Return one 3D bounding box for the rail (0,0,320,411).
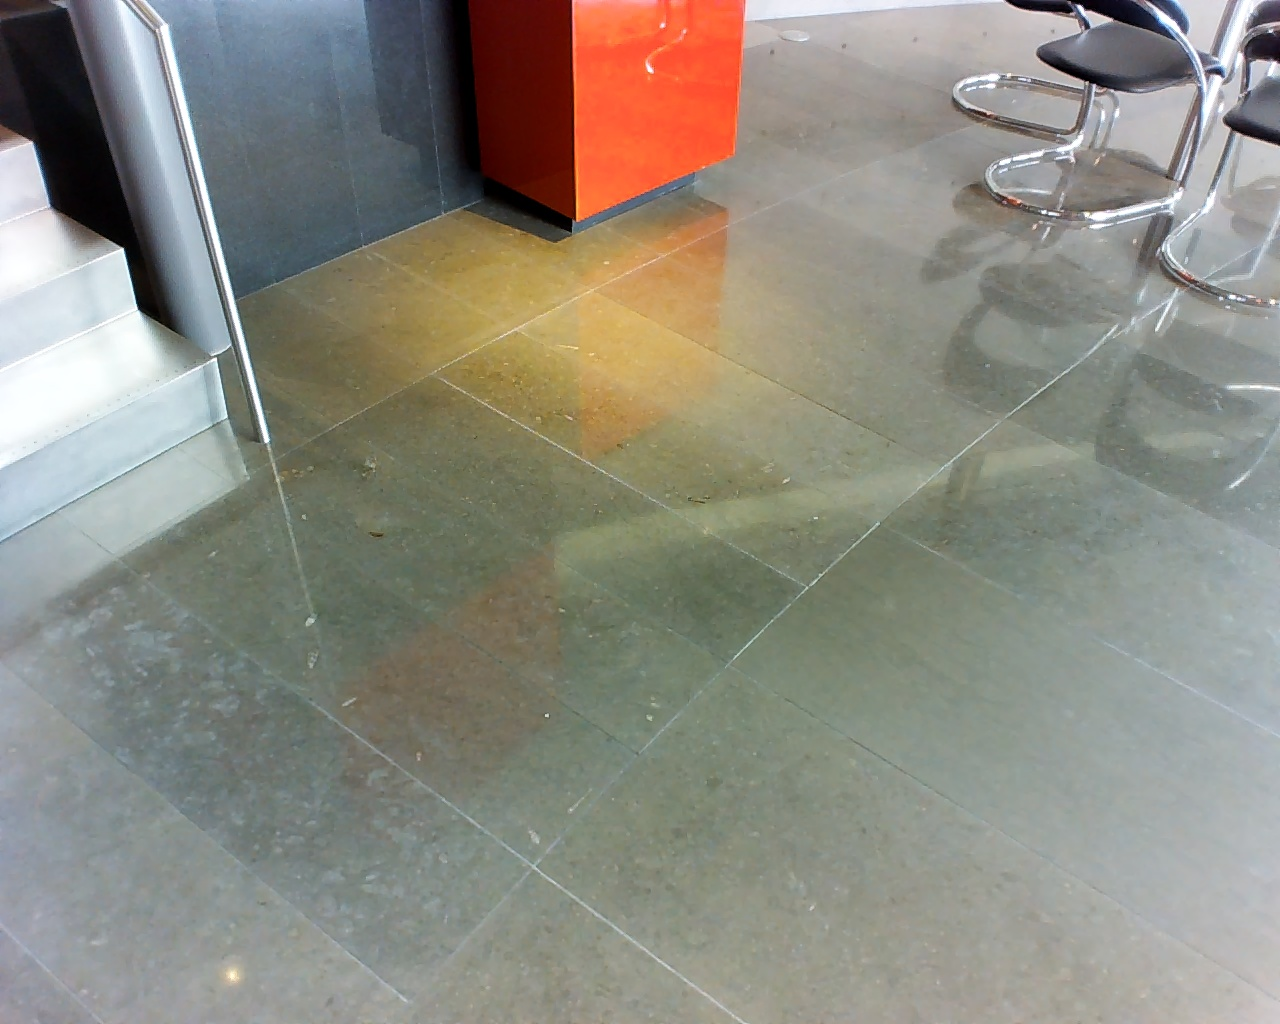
[{"bbox_3d":[-1.440,-1.280,2.350,1.580,1.790,0.150,28,47,25],"label":"rail"}]

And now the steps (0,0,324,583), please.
[{"bbox_3d":[-1.760,-0.660,2.400,1.450,0.970,1.230,26,46,23],"label":"steps"}]
